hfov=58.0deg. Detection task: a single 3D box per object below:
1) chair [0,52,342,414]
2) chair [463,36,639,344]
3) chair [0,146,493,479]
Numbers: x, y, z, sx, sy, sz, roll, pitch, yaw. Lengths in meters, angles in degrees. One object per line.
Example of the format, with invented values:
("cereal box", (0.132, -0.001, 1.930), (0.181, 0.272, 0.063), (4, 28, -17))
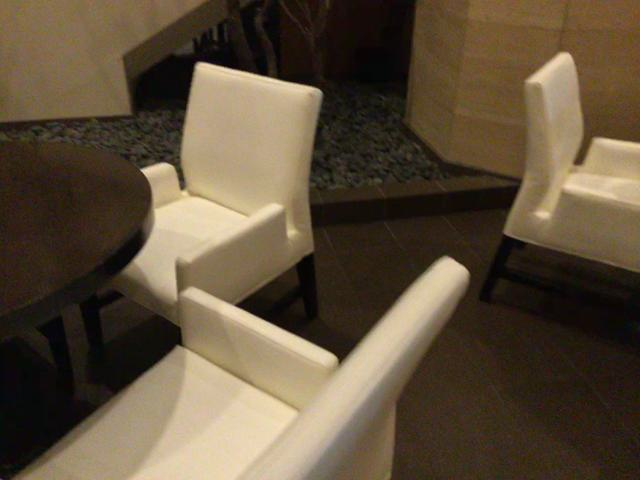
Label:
("chair", (-0.390, -0.080, 1.840), (0.610, 0.800, 0.700), (17, 37, 31))
("chair", (1.020, -0.200, 1.970), (0.780, 0.760, 0.680), (17, 37, 31))
("chair", (-0.200, 0.370, 1.030), (0.720, 0.770, 0.660), (17, 37, 31))
